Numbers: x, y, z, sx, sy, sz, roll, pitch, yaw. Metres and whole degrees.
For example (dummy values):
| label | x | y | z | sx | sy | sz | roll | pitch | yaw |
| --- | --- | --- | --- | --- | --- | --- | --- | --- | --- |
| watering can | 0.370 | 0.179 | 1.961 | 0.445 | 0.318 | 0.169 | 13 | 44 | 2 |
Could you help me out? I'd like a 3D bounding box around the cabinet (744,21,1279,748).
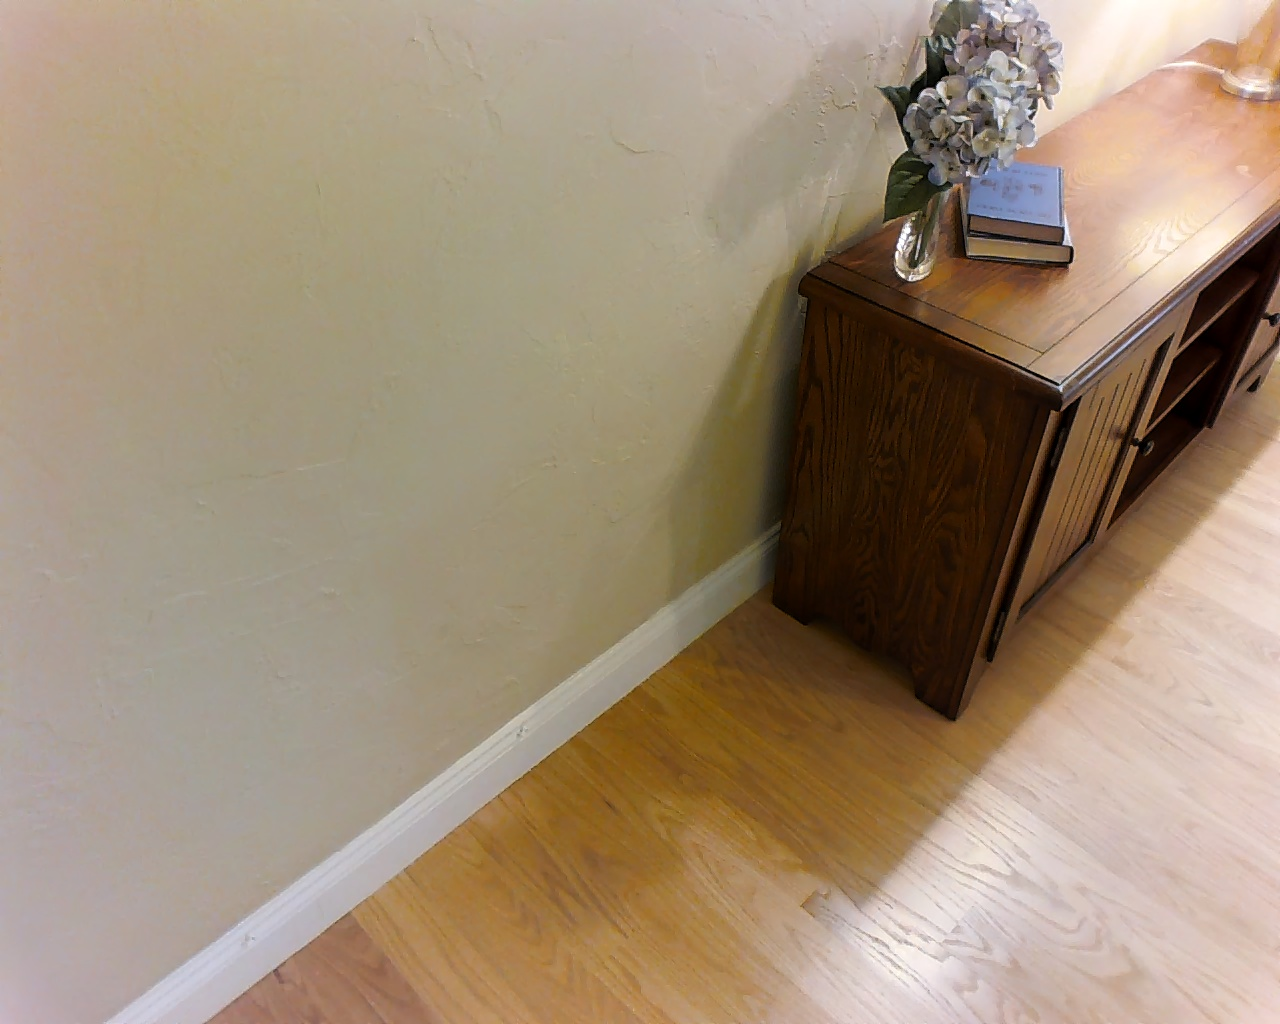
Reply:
| label | x | y | z | sx | sy | sz | roll | pitch | yaw |
| --- | --- | --- | --- | --- | --- | --- | --- | --- | --- |
| cabinet | 0.930 | -0.350 | 2.210 | 0.490 | 0.810 | 1.530 | 34 | 51 | 31 |
